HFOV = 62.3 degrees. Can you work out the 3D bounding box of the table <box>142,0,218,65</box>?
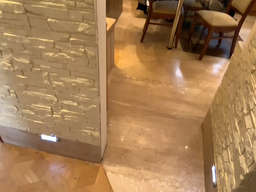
[{"bbox_3d":[0.730,-1.550,3.170,0.650,0.880,2.400,10,43,4],"label":"table"}]
